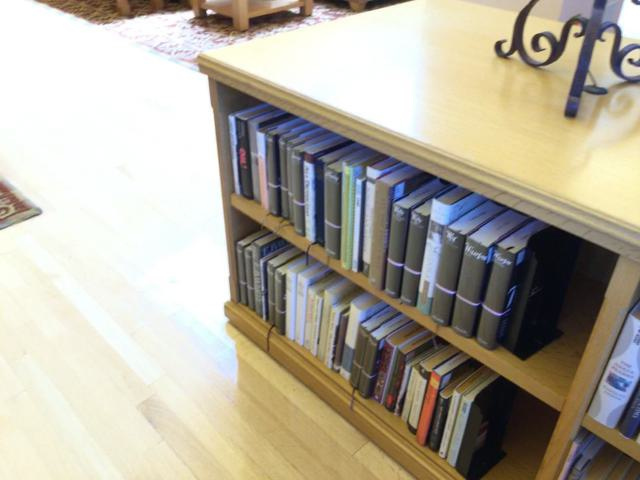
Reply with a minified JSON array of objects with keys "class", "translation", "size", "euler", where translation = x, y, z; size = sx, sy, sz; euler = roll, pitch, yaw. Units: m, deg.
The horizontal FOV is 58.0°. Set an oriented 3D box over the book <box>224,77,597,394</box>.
[{"class":"book","translation":[0.110,-0.060,1.160],"size":[0.190,0.300,0.740],"euler":[-26,44,-35]}]
